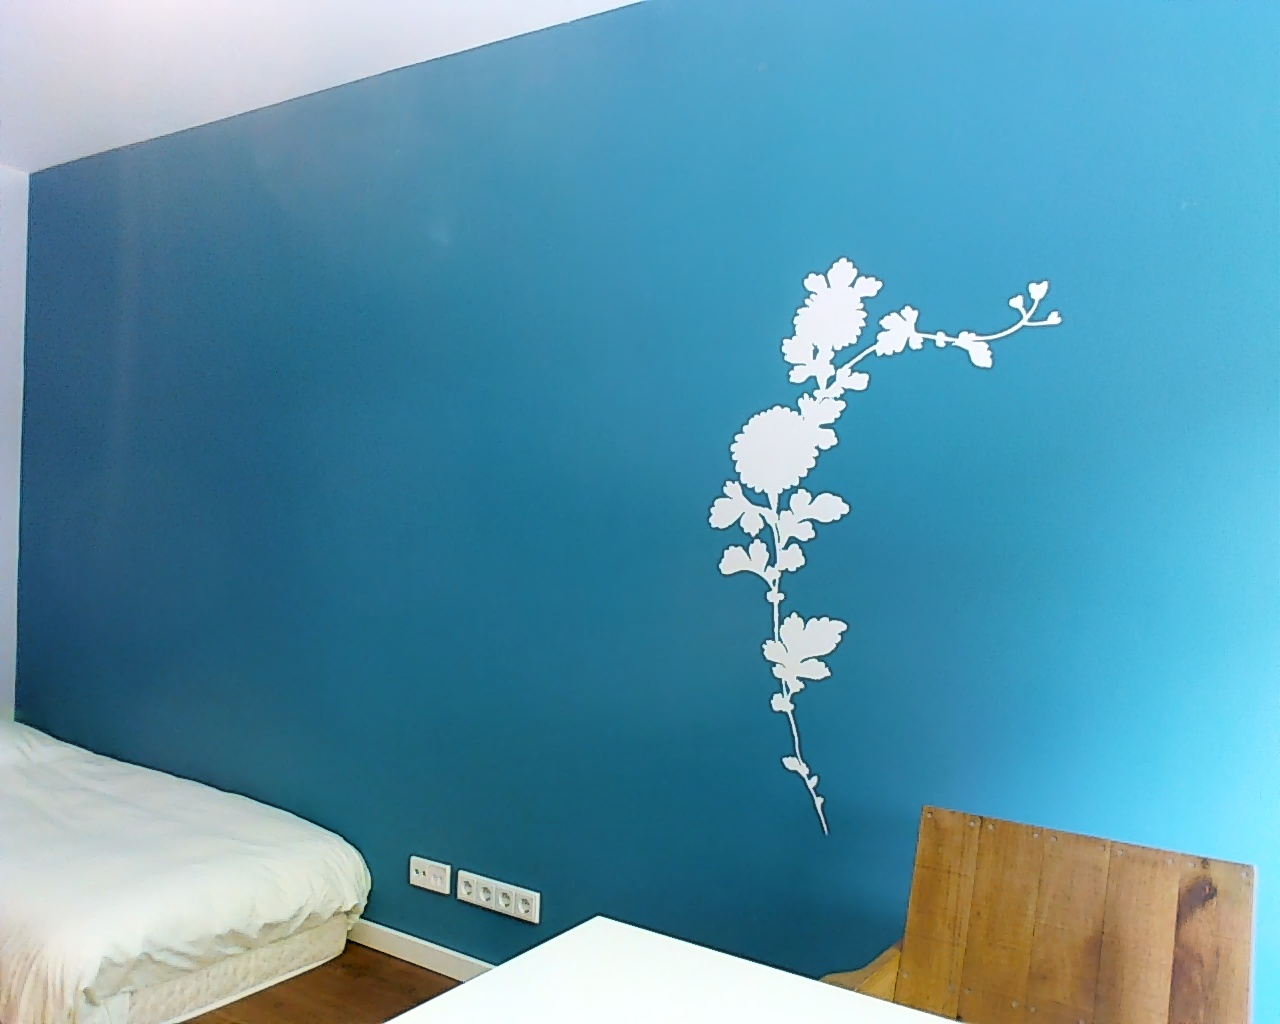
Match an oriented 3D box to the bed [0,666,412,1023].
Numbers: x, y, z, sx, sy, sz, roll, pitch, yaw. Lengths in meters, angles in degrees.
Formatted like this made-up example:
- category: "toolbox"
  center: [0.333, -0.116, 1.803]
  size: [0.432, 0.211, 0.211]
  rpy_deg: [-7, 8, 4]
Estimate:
- category: "bed"
  center: [-1.980, 0.990, 3.420]
  size: [2.320, 0.600, 1.140]
  rpy_deg: [3, 1, 34]
